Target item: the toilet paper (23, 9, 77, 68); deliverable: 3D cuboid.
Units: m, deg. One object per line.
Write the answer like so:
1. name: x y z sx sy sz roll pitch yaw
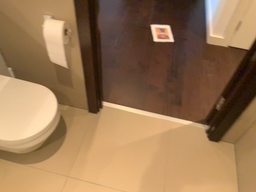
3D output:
1. toilet paper: -0.390 -0.290 1.100 0.190 0.240 0.110 14 51 6
